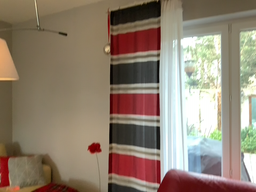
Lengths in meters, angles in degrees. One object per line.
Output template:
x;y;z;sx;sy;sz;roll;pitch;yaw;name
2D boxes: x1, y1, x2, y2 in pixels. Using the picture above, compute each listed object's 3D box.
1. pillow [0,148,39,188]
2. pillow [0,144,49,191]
-1.560;0.940;2.850;0.370;0.320;0.560;0;0;28;pillow
-1.310;0.920;2.700;0.430;0.440;0.160;-21;-21;-35;pillow
